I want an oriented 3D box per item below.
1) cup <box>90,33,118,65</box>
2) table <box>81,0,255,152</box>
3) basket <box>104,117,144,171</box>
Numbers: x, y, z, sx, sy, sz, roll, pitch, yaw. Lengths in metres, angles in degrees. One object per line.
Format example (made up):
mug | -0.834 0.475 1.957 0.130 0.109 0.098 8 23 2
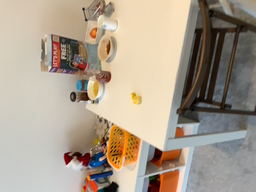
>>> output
cup | -0.140 -0.270 1.220 0.160 0.070 0.160 20 103 52
table | 0.260 -0.200 1.350 0.780 0.760 0.750 19 103 52
basket | -0.030 0.280 1.290 0.210 0.110 0.250 17 101 52
